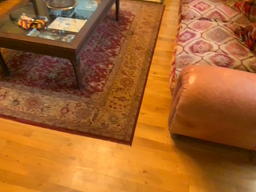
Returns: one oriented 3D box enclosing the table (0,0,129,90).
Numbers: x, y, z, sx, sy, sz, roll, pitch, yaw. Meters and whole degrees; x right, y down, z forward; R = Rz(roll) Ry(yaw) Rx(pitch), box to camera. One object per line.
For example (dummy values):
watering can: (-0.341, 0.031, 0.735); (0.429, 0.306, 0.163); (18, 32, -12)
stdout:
table: (-0.570, -0.770, 2.190); (0.850, 0.480, 1.320); (12, 47, 8)
